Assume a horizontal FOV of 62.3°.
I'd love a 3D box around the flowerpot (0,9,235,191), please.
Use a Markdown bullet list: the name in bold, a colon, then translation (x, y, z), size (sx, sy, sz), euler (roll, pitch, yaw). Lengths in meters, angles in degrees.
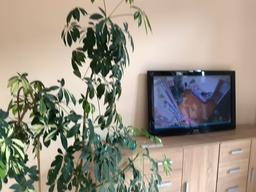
- **flowerpot**: translation (-0.270, 0.510, 1.440), size (1.310, 1.780, 1.050), euler (-1, 7, -17)
